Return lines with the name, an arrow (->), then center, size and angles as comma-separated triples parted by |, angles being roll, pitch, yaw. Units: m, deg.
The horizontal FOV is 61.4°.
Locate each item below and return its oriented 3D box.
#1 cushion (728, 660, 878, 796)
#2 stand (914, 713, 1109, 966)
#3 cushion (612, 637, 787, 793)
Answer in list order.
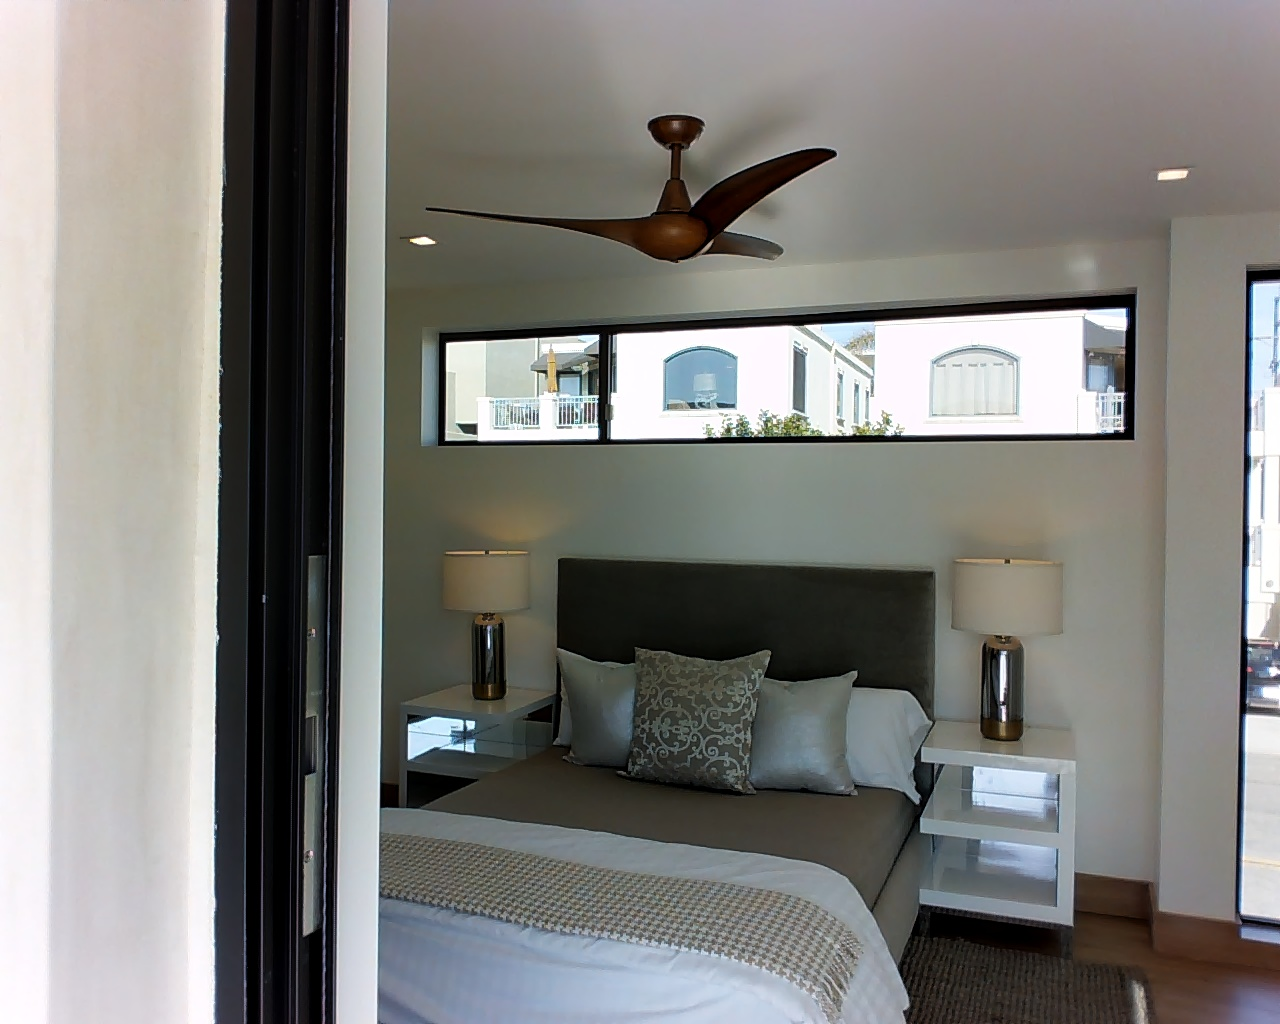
cushion -> 0.620, 0.800, 4.070 | 0.490, 0.410, 0.340 | 1, 0, 22
stand -> 1.390, 1.170, 4.010 | 0.630, 0.690, 0.620 | 1, 0, 22
cushion -> 0.230, 0.750, 4.080 | 0.580, 0.490, 0.330 | 1, 0, 22
